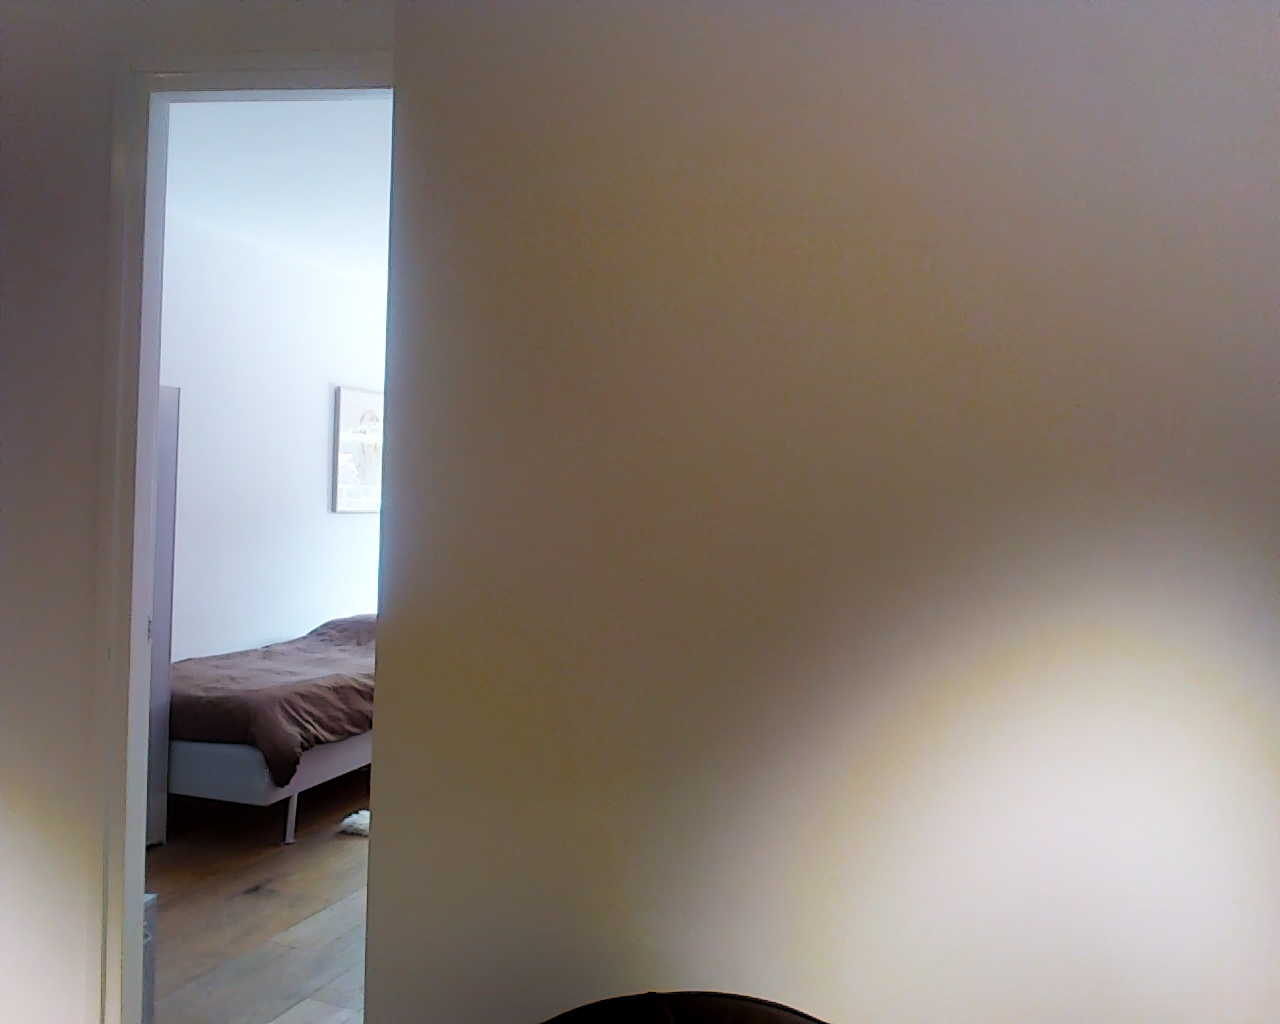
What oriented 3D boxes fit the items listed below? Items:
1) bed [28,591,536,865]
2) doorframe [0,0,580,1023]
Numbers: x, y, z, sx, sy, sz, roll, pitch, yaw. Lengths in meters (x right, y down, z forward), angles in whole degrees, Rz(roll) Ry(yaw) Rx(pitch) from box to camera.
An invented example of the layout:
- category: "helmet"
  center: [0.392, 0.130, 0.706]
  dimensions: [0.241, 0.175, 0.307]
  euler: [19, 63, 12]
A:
- category: "bed"
  center: [-1.560, 0.900, 5.270]
  dimensions: [1.260, 0.820, 2.180]
  euler: [2, 0, 19]
- category: "doorframe"
  center: [-0.740, 0.150, 2.420]
  dimensions: [1.110, 2.380, 0.360]
  euler: [2, 0, -3]
